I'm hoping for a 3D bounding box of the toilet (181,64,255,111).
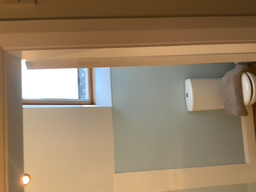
[{"bbox_3d":[1.050,-0.060,2.150,0.650,0.800,0.390,140,127,-84],"label":"toilet"}]
